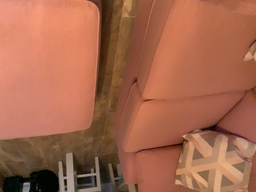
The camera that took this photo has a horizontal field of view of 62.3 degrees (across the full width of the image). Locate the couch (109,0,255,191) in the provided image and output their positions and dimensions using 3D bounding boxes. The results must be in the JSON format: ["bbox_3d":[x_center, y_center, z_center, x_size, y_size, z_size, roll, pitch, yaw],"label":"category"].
[{"bbox_3d":[0.580,0.010,1.150,1.050,0.980,1.900,-4,144,-15],"label":"couch"}]

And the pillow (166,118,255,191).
[{"bbox_3d":[0.580,0.440,1.330,0.500,0.450,0.180,-44,117,-9],"label":"pillow"}]
